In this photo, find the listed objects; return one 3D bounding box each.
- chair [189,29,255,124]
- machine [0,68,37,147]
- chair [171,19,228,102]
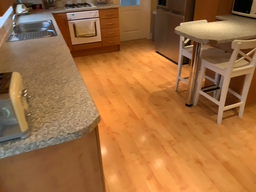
[{"bbox_3d":[1.050,-0.220,2.330,0.440,0.870,0.470,-12,32,-17],"label":"chair"},{"bbox_3d":[-0.560,0.050,0.880,0.290,0.190,0.290,-13,33,-18],"label":"machine"},{"bbox_3d":[0.860,-0.460,2.710,0.380,0.890,0.480,-11,32,-14],"label":"chair"}]
